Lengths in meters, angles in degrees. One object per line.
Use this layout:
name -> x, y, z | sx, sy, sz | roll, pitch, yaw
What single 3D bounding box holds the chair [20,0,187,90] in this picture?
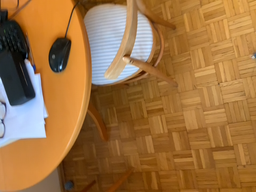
chair -> -0.020, -0.230, 0.990 | 0.420, 0.750, 0.360 | 5, 93, 26
